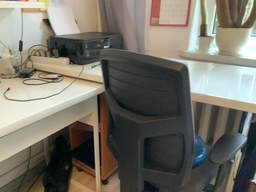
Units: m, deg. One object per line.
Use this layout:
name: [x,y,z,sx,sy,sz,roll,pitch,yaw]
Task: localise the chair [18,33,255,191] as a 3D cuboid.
chair: [0.110,0.270,1.020,0.720,1.010,0.760,17,26,35]
